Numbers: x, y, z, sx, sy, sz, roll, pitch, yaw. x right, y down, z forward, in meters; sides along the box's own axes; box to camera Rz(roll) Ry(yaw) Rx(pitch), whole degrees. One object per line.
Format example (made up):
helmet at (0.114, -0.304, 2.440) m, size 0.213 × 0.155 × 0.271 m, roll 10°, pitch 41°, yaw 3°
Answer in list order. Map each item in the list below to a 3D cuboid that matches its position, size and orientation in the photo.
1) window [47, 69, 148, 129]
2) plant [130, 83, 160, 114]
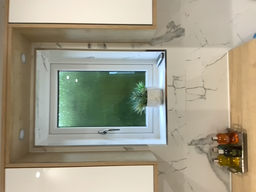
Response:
window at (-0.220, 0.020, 1.600) m, size 0.050 × 0.740 × 0.440 m, roll 139°, pitch 131°, yaw -86°
plant at (0.110, 0.020, 1.450) m, size 0.170 × 0.180 × 0.200 m, roll 152°, pitch 118°, yaw -86°
